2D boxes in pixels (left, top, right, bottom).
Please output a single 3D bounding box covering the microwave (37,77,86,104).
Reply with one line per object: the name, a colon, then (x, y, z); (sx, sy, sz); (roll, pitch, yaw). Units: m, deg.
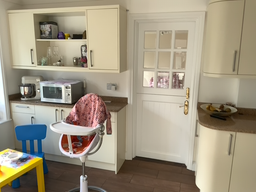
microwave: (-0.950, -0.090, 3.070); (0.560, 0.290, 0.370); (6, 13, 22)
